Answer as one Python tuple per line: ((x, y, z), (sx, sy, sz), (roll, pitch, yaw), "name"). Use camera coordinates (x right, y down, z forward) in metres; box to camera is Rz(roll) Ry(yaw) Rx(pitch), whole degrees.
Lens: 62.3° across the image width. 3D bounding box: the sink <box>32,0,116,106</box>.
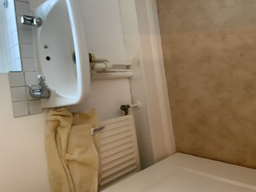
((-0.250, -0.200, 0.950), (0.290, 0.190, 0.450), (-7, 90, 44), "sink")
